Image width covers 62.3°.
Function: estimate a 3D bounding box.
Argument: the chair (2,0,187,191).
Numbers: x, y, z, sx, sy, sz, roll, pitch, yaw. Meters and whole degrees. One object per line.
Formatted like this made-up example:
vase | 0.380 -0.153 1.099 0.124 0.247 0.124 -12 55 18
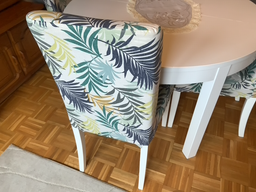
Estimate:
chair | -0.050 -0.020 1.090 0.500 0.980 0.540 12 45 12
